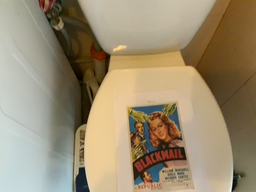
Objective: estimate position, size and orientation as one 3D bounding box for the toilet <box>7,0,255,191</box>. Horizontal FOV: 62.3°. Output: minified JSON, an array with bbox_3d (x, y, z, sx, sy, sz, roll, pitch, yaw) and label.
[{"bbox_3d":[0.070,0.060,0.680,0.390,0.860,0.690,-3,67,-1],"label":"toilet"}]
